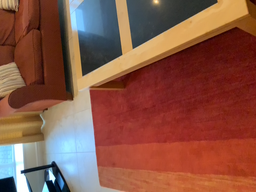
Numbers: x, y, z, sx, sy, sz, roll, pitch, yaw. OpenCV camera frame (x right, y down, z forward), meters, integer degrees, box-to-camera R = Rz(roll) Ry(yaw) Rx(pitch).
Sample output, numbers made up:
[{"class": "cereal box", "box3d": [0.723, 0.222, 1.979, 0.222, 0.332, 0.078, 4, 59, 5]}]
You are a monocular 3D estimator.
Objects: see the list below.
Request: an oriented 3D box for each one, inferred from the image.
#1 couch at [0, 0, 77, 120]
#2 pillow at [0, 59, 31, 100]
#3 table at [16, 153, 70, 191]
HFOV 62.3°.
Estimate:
[{"class": "couch", "box3d": [-1.400, -0.710, 2.720, 1.050, 0.880, 1.880, -18, 77, 47]}, {"class": "pillow", "box3d": [-1.430, -0.210, 2.520, 0.500, 0.340, 0.100, 48, 143, 26]}, {"class": "table", "box3d": [-1.030, 1.400, 2.670, 1.110, 0.390, 0.660, 47, 123, 38]}]
